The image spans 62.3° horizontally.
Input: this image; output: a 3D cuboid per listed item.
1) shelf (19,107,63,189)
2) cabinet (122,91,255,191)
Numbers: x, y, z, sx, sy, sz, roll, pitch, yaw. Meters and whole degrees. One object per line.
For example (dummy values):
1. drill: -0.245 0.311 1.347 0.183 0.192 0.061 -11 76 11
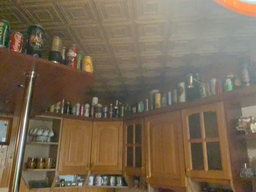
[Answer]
1. shelf: -0.990 0.590 2.440 0.300 0.840 0.290 14 -21 -37
2. cabinet: 0.480 0.500 2.180 0.320 0.760 1.350 14 -21 -36
